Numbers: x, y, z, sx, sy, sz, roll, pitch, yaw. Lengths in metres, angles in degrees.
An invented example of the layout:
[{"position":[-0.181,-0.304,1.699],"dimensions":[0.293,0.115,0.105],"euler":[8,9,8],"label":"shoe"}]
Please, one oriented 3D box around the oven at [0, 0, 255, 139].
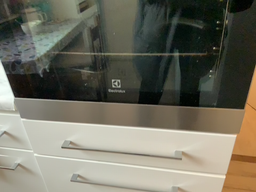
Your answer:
[{"position":[0.010,-0.330,0.680],"dimensions":[0.600,0.600,0.630],"euler":[4,31,9],"label":"oven"}]
